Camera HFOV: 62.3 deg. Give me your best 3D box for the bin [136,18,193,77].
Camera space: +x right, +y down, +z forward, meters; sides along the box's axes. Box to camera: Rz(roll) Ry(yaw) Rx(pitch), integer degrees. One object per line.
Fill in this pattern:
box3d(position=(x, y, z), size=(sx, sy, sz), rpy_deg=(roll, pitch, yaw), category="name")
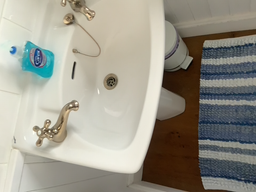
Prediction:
box3d(position=(0.220, -0.250, 1.200), size=(0.210, 0.330, 0.200), rpy_deg=(1, 80, 29), category="bin")
